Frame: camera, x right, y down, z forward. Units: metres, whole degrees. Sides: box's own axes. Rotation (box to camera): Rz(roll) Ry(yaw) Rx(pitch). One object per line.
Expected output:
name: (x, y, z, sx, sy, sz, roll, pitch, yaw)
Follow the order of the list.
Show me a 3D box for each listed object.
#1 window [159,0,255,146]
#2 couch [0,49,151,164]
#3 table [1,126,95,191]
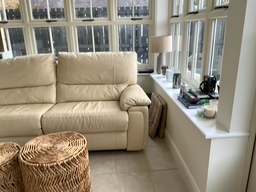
window: (0.680, -0.840, 2.000, 0.220, 1.670, 2.140, -3, 18, -5)
couch: (-0.840, 0.040, 2.350, 2.050, 0.950, 0.920, -2, 18, -2)
table: (-0.520, 0.540, 1.550, 0.460, 0.460, 0.470, -2, 18, 0)
